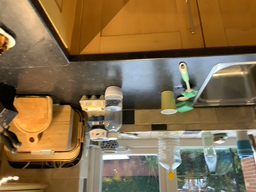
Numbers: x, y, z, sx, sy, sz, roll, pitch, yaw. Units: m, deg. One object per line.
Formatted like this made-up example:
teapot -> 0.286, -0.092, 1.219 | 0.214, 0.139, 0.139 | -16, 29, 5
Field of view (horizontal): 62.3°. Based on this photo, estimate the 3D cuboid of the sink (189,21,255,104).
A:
sink -> 0.550, -0.140, 1.090 | 0.360, 0.210, 0.460 | -2, 158, 5
